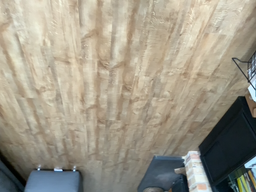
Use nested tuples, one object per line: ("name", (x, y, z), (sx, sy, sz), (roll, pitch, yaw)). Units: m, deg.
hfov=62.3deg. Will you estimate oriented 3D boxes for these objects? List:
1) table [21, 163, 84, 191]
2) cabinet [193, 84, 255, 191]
("table", (-1.020, 1.320, 3.050), (0.690, 0.410, 0.820), (3, 141, -6))
("cabinet", (1.020, 0.560, 1.810), (0.400, 0.860, 0.980), (3, 141, -6))
